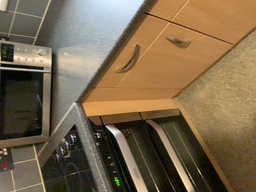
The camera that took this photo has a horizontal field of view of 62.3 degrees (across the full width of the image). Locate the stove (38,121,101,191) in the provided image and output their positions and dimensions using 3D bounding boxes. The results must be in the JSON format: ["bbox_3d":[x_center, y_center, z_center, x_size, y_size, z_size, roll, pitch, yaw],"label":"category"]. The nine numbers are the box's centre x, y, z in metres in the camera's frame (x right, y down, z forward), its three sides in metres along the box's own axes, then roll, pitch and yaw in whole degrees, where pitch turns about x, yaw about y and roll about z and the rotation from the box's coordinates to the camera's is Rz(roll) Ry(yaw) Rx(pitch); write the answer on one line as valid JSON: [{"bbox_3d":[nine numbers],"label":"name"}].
[{"bbox_3d":[-0.260,0.500,0.960,0.540,0.010,0.580,-47,59,37],"label":"stove"}]
